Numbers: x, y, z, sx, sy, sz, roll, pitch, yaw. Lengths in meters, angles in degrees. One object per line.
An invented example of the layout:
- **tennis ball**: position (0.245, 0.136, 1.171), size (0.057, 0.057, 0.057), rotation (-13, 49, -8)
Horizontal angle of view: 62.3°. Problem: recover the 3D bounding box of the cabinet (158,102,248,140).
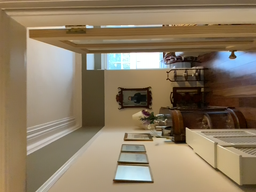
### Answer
- **cabinet**: position (1.150, 0.370, 3.770), size (1.720, 0.990, 0.460), rotation (44, -136, -89)
